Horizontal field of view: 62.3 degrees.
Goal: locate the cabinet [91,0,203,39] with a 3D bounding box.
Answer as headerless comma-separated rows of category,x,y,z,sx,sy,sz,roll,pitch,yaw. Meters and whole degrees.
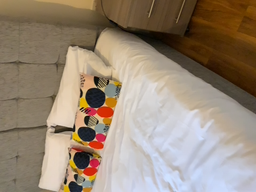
cabinet,0.130,-0.680,1.410,0.480,0.540,0.410,44,127,44
